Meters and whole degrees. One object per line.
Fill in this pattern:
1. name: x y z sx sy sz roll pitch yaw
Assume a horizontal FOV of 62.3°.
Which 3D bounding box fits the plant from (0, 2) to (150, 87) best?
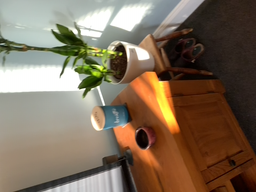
1. plant: -0.380 -0.250 1.170 0.280 1.010 0.280 -44 59 45
